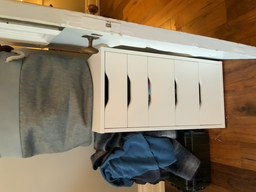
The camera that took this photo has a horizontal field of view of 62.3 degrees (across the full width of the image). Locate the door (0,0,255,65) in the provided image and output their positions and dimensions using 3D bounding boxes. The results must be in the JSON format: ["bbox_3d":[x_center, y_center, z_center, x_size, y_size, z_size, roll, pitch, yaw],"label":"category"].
[{"bbox_3d":[-0.540,-0.300,0.920,1.150,2.130,0.120,-163,77,-64],"label":"door"}]

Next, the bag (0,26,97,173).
[{"bbox_3d":[-0.500,0.040,1.050,0.560,0.540,0.530,164,106,-63],"label":"bag"}]
